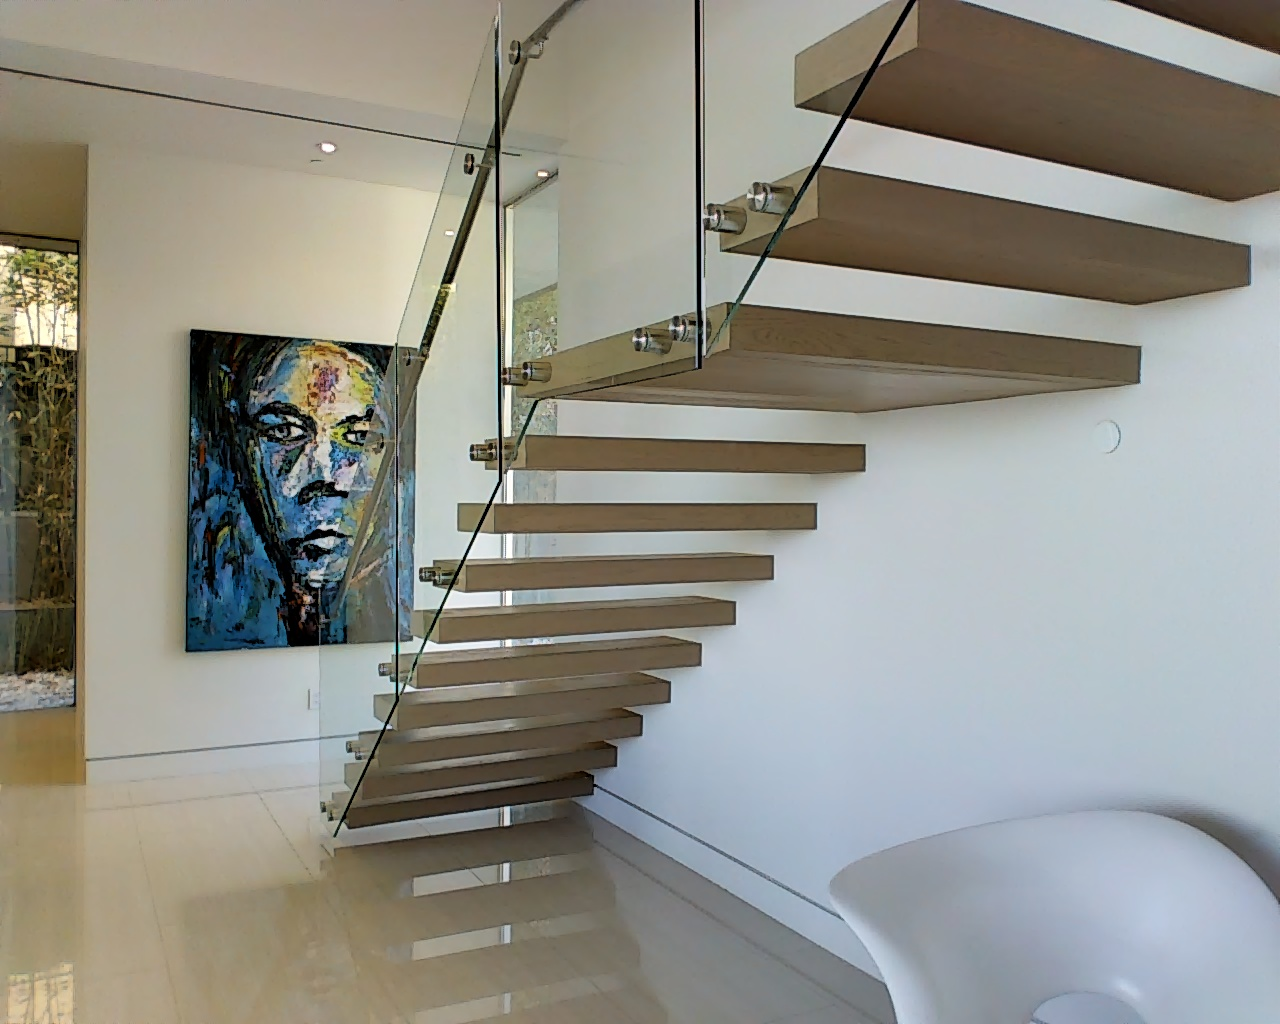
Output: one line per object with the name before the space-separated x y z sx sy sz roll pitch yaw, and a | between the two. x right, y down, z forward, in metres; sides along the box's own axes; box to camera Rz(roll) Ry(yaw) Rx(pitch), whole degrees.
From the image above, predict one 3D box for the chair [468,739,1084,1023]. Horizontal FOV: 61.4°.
chair | 0.380 1.280 3.200 1.520 0.860 0.990 0 1 -28
